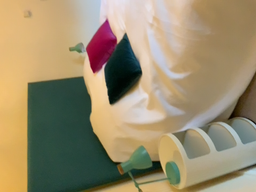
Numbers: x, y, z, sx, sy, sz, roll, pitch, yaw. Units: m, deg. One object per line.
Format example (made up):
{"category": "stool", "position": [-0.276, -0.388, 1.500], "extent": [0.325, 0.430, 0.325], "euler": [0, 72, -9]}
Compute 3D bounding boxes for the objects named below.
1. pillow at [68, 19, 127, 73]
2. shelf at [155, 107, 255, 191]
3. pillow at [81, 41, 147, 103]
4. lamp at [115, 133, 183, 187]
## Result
{"category": "pillow", "position": [-0.280, -0.510, 2.100], "extent": [0.170, 0.410, 0.440], "euler": [-47, 7, 35]}
{"category": "shelf", "position": [0.530, 0.350, 1.360], "extent": [0.320, 0.590, 0.330], "euler": [-121, 27, -48]}
{"category": "pillow", "position": [-0.090, -0.210, 1.660], "extent": [0.100, 0.400, 0.430], "euler": [-32, -2, 38]}
{"category": "lamp", "position": [0.110, 0.350, 1.190], "extent": [0.170, 0.320, 0.140], "euler": [-121, 27, -48]}
